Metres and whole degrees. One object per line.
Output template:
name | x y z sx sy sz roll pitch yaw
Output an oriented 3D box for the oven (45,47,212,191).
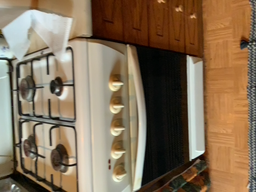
oven | 0.020 0.080 1.170 0.610 0.670 0.530 0 93 43
